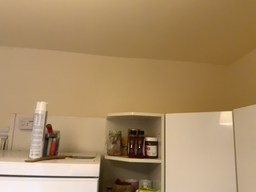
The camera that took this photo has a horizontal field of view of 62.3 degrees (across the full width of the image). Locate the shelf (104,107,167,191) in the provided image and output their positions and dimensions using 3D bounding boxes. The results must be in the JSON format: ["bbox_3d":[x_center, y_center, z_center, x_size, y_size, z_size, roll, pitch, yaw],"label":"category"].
[{"bbox_3d":[0.020,0.450,1.180,0.290,0.720,0.360,3,-11,-6],"label":"shelf"}]
